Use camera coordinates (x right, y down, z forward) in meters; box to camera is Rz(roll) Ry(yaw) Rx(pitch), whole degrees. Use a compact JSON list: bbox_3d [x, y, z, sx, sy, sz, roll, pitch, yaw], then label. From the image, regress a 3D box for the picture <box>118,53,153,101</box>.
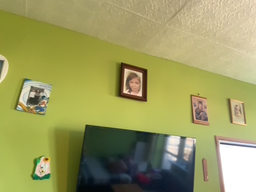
[{"bbox_3d":[0.070,-0.170,1.920,0.310,0.400,0.050,10,-23,-21],"label":"picture"}]
